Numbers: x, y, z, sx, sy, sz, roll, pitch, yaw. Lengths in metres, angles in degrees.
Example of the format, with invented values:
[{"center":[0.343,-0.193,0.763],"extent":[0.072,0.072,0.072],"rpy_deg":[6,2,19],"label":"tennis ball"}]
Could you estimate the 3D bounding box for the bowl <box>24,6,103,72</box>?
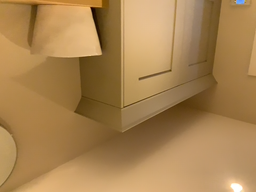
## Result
[{"center":[-0.280,-0.260,0.950],"extent":[0.230,0.240,0.240],"rpy_deg":[17,-156,39],"label":"bowl"}]
